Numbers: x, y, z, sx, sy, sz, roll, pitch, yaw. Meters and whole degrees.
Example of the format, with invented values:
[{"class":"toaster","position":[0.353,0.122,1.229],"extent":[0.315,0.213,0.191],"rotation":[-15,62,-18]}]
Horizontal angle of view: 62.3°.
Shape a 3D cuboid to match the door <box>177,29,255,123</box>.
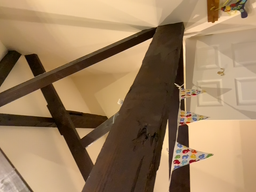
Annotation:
[{"class":"door","position":[1.420,-0.200,1.650],"extent":[0.040,2.040,0.820],"rotation":[38,-128,-64]}]
